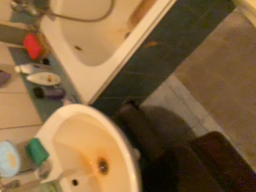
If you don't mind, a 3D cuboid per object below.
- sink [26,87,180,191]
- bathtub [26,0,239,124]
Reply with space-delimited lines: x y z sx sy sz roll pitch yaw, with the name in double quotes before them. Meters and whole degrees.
"sink" -0.120 0.270 0.820 0.330 0.240 0.520 -48 65 26
"bathtub" 0.110 -0.620 1.200 1.520 0.560 0.700 -49 64 26
